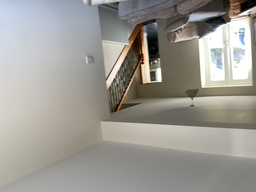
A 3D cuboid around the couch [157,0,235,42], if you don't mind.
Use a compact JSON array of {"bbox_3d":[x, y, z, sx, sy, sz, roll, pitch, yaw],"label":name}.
[{"bbox_3d":[1.530,-1.790,4.910,1.280,0.850,1.100,-7,-174,-17],"label":"couch"}]
